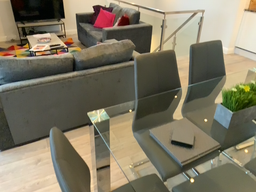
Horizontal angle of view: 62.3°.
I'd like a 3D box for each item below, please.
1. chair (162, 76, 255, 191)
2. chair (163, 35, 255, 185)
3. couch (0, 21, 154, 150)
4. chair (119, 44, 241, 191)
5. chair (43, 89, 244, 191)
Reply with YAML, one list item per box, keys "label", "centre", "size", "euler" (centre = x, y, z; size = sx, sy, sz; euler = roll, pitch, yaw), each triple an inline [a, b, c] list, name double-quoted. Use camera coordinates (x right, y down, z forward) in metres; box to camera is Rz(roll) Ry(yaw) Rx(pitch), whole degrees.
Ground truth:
- label: "chair"
  centre: [0.540, 0.520, 1.050]
  size: [0.460, 1.030, 0.570]
  euler: [-13, 34, -24]
- label: "chair"
  centre: [0.700, 0.100, 1.770]
  size: [0.460, 1.030, 0.560]
  euler: [-14, 34, -25]
- label: "couch"
  centre: [-0.730, -0.270, 2.490]
  size: [1.730, 0.860, 0.980]
  euler: [-15, 34, -26]
- label: "chair"
  centre: [0.270, 0.230, 1.540]
  size: [0.460, 1.020, 0.570]
  euler: [-14, 34, -25]
- label: "chair"
  centre: [0.010, 0.560, 0.990]
  size: [0.540, 1.000, 0.460]
  euler: [-13, 34, -24]
